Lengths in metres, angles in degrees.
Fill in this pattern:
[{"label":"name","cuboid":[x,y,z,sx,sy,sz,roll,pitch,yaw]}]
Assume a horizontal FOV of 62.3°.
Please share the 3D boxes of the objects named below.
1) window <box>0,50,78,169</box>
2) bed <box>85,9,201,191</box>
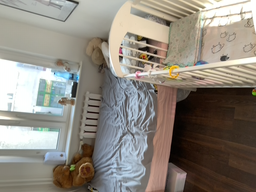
[{"label":"window","cuboid":[-1.570,0.210,3.040,0.160,1.480,1.600,-3,80,62]},{"label":"bed","cuboid":[0.060,0.300,2.700,1.430,0.500,2.230,5,87,62]}]
